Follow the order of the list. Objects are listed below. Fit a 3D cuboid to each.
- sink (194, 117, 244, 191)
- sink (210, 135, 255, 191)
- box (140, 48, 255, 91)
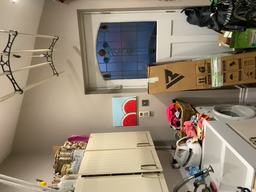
[{"bbox_3d":[0.830,0.570,2.000,0.390,0.230,0.630,-101,10,-74],"label":"sink"},{"bbox_3d":[0.850,0.680,1.620,0.400,0.230,0.630,-101,10,-74],"label":"sink"},{"bbox_3d":[0.910,-0.270,2.400,0.680,1.460,0.390,-157,65,-87],"label":"box"}]
